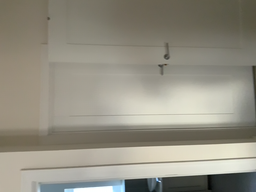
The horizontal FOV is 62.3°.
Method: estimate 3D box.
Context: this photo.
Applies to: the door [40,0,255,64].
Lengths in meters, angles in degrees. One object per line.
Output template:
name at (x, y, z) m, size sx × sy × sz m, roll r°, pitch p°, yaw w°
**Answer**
door at (0.290, -0.720, 1.890) m, size 0.080 × 2.030 × 0.840 m, roll 164°, pitch 105°, yaw -81°
